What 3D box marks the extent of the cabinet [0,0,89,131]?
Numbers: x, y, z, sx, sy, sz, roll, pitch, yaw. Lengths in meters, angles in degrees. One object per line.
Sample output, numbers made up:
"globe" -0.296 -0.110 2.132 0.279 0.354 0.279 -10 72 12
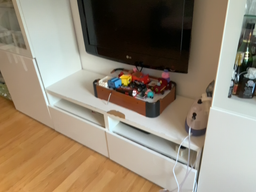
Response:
"cabinet" -0.820 -0.700 1.600 0.630 1.920 0.440 18 38 30
